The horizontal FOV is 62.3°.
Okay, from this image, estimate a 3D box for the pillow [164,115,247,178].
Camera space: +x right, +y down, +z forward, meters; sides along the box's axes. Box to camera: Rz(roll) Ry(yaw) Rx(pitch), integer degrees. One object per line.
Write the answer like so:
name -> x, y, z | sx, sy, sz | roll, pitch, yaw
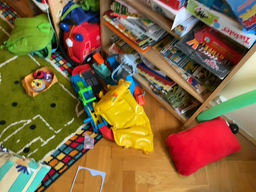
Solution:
pillow -> 0.460, 0.300, 1.300 | 0.390, 0.100, 0.300 | -7, 62, -11
